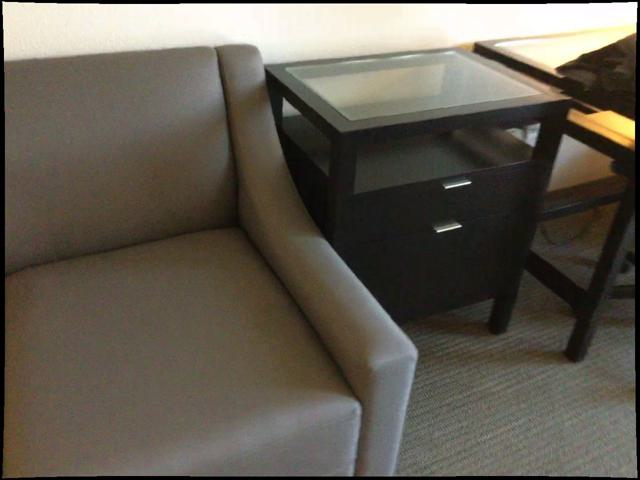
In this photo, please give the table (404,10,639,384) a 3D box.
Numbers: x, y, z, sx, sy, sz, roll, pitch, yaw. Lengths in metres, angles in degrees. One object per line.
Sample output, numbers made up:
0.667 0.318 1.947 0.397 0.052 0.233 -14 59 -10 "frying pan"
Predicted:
1.197 -0.291 2.120 1.477 0.841 0.810 -15 38 -24 "table"
